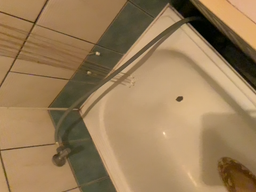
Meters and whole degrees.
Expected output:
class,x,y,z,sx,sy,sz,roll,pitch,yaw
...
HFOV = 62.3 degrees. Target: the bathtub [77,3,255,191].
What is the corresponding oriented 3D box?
class,x,y,z,sx,sy,sz,roll,pitch,yaw
bathtub,0.480,0.430,0.900,0.690,0.560,1.480,-46,62,25
